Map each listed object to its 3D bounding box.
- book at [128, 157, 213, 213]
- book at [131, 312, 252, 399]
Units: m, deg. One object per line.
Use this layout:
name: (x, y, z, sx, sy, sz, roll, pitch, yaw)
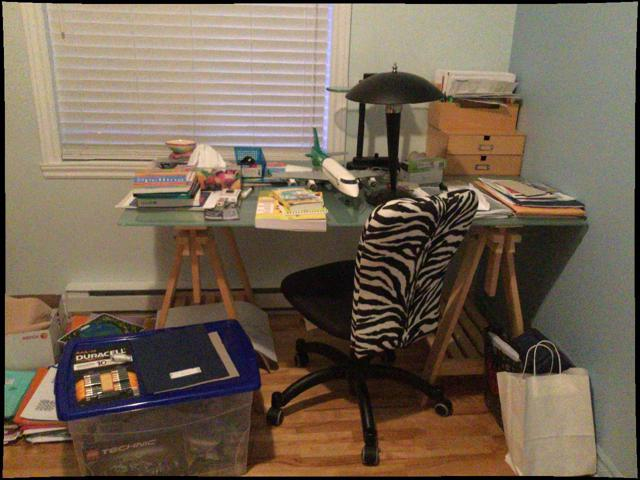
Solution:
book: (-0.480, -0.190, 1.910, 0.230, 0.080, 0.350, -1, 23, -7)
book: (-0.400, 0.340, 1.770, 0.290, 0.030, 0.330, -9, 25, -24)
